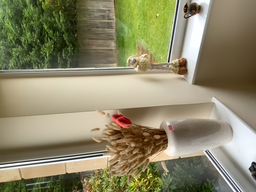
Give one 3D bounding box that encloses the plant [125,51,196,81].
[{"bbox_3d":[0.210,-0.210,1.440,0.200,0.420,0.130,-114,25,-56],"label":"plant"}]
